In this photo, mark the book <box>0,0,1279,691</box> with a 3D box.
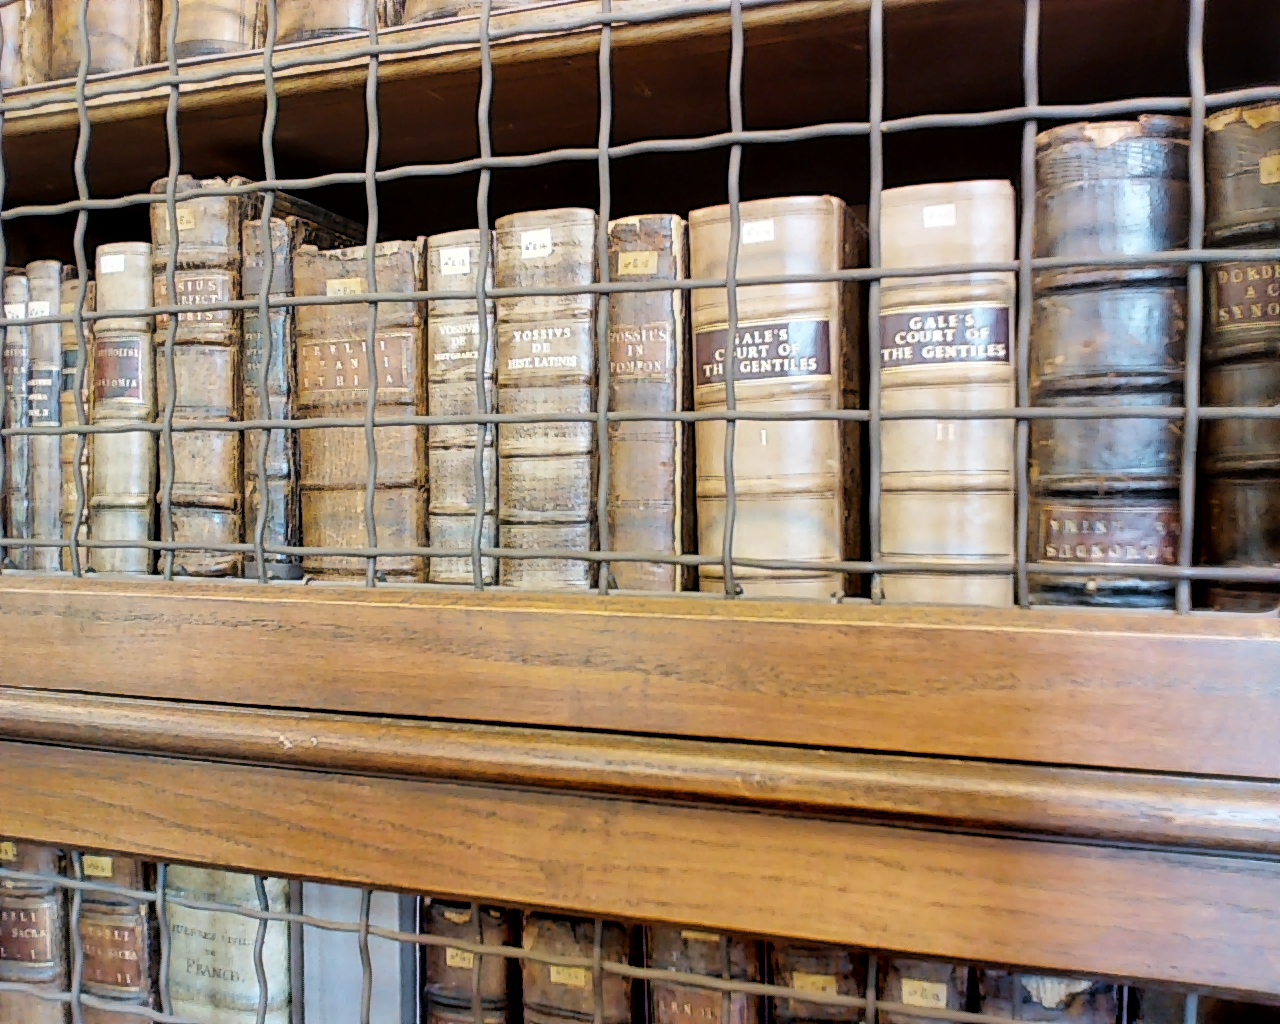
[{"bbox_3d":[-0.110,-0.070,0.480,0.770,0.240,0.160,0,-1,17],"label":"book"}]
